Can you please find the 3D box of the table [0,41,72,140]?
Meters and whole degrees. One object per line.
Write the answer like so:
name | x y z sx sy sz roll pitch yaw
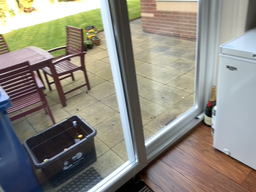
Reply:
table | -1.770 0.010 2.640 1.730 0.780 0.880 -30 37 -32

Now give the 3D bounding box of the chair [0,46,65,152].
chair | -1.240 0.000 2.410 0.550 0.900 0.640 -30 37 -32
